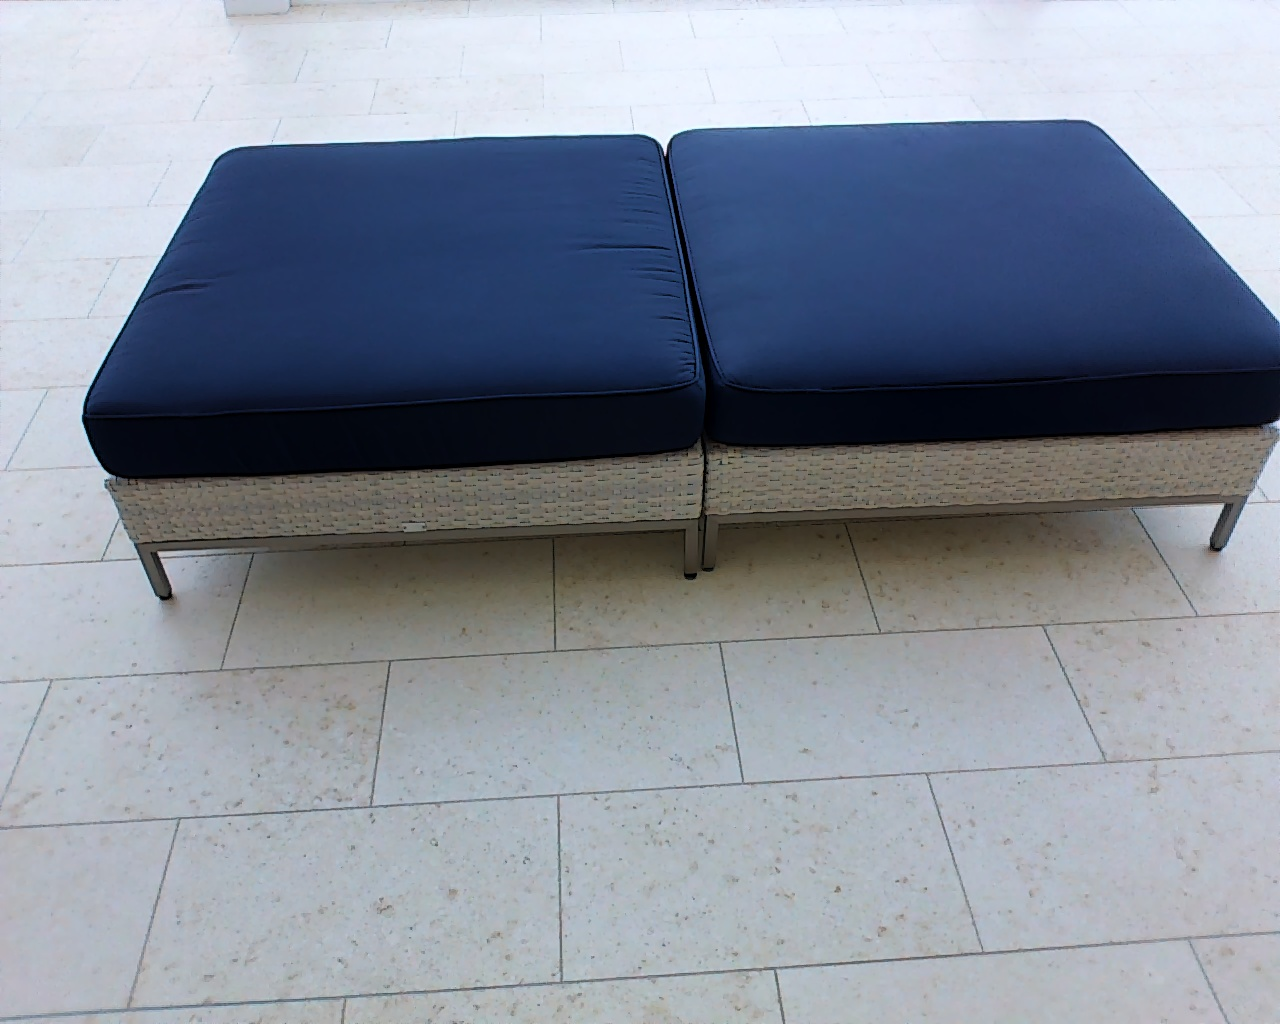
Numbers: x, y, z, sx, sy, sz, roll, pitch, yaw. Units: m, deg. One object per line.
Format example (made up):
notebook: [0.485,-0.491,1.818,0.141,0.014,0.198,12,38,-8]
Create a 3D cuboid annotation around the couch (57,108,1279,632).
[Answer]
couch: [0.100,-0.390,2.380,2.180,0.490,1.140,-3,43,-3]
